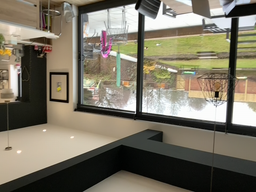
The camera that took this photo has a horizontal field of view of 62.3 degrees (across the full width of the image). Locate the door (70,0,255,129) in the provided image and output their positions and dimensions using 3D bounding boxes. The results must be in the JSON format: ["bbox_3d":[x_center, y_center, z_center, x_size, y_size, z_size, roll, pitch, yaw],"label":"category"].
[{"bbox_3d":[0.800,-0.830,3.730,4.910,2.420,0.140,5,-174,31],"label":"door"}]
